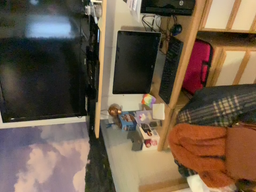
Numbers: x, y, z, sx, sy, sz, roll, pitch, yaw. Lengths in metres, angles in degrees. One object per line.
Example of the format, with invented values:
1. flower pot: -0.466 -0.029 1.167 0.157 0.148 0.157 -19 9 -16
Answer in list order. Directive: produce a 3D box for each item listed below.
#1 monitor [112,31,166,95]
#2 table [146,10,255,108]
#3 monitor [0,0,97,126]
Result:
1. monitor: 0.070 -0.230 1.610 0.040 0.340 0.490 -109 24 -56
2. table: 0.600 -0.300 1.670 0.500 0.700 0.560 -117 30 -52
3. monitor: -0.530 -0.220 1.340 0.050 0.620 0.960 -119 31 -50
